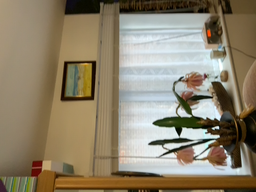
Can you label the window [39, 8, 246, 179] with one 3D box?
[{"bbox_3d":[0.100,-0.110,1.920,0.150,1.530,1.590,88,-178,-69],"label":"window"}]
